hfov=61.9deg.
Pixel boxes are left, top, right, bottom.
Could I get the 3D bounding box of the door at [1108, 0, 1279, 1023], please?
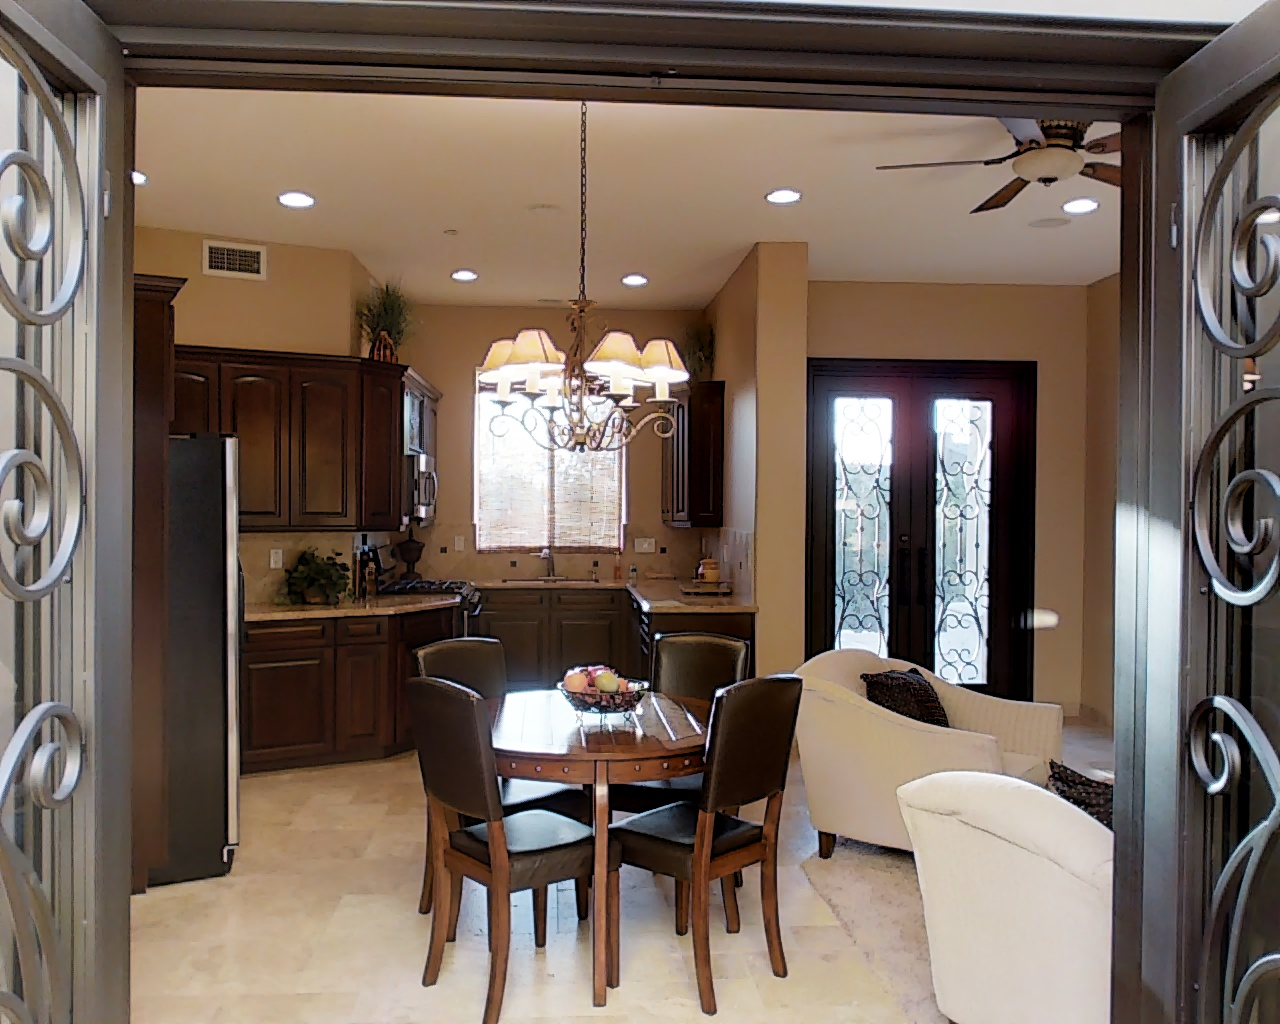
[{"bbox_3d":[0.820,0.400,1.240,0.150,2.250,0.850,0,1,-2],"label":"door"}]
